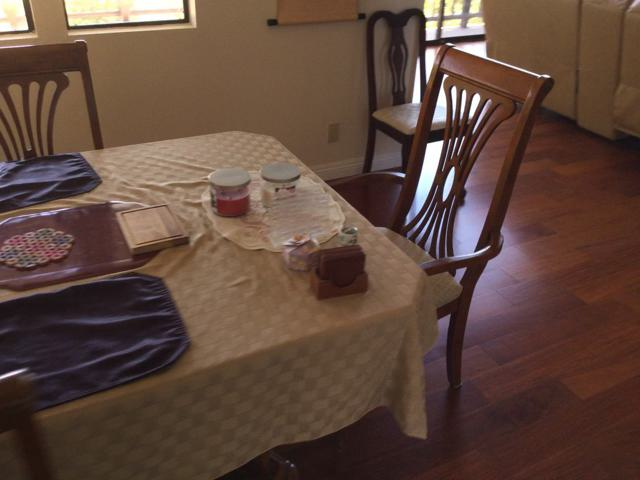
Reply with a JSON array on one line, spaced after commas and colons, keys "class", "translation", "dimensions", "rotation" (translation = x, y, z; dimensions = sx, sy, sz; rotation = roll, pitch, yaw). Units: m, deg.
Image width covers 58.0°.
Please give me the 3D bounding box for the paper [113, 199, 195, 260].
[{"class": "paper", "translation": [-0.390, -0.030, 1.350], "dimensions": [0.140, 0.030, 0.190], "rotation": [-14, 34, -24]}]
